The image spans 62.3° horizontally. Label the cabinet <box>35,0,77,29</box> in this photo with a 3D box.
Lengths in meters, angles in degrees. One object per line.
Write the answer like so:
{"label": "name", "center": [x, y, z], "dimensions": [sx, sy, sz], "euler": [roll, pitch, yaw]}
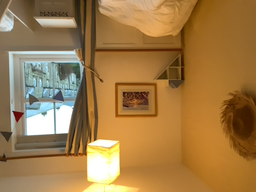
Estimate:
{"label": "cabinet", "center": [-0.770, -1.130, 2.300], "dimensions": [0.360, 0.690, 0.400], "euler": [-2, -178, -7]}
